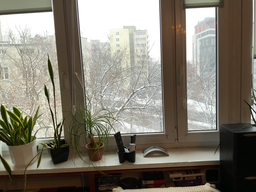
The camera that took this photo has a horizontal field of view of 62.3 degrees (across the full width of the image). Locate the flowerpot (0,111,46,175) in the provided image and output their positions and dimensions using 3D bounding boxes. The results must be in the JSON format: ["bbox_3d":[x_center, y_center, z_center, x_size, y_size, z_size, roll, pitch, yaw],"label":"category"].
[{"bbox_3d":[-0.800,0.340,1.610,0.240,0.410,0.230,-3,7,-2],"label":"flowerpot"}]
